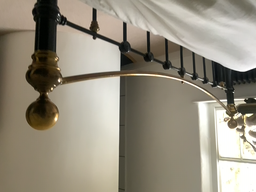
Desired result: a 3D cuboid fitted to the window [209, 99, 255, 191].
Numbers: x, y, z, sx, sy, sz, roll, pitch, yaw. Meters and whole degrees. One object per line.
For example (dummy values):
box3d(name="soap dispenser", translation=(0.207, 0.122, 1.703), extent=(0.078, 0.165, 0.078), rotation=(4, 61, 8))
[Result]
box3d(name="window", translation=(1.490, 0.690, 2.380), extent=(1.070, 1.320, 0.120), rotation=(-6, 169, 41))
